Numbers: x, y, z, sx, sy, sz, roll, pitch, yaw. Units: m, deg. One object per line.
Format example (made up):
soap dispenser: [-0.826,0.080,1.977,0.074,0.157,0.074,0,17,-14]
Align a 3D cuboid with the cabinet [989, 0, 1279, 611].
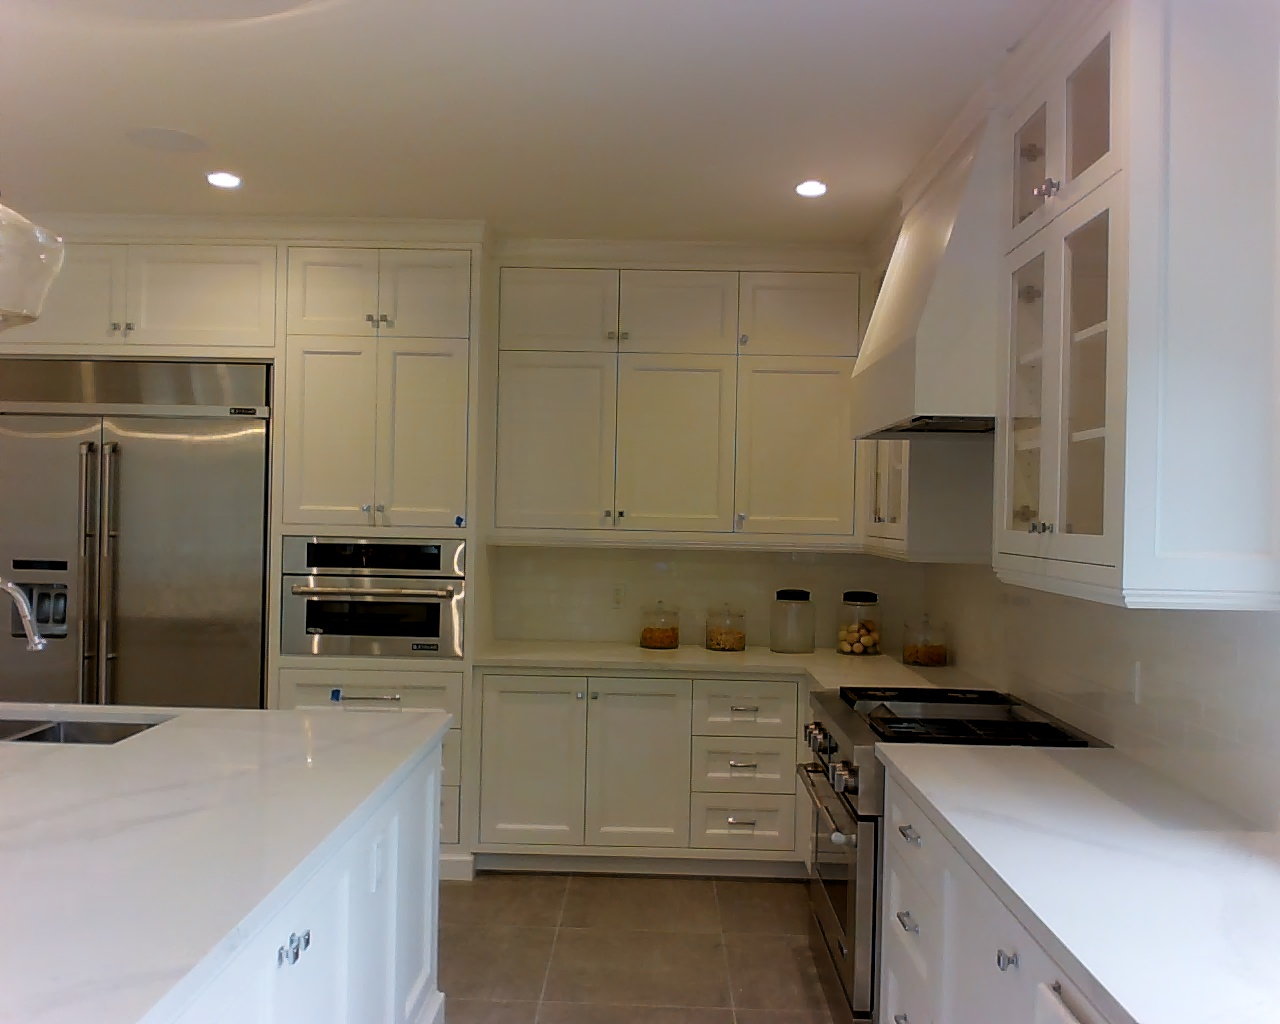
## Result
cabinet: [1.140,-0.470,2.480,0.400,1.320,0.780,1,0,1]

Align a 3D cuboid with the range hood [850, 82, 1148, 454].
range hood: [1.060,-0.680,3.400,0.580,0.920,1.080,1,0,1]

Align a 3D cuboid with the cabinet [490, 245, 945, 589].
cabinet: [0.340,-0.420,4.910,1.970,1.470,0.370,1,0,1]
